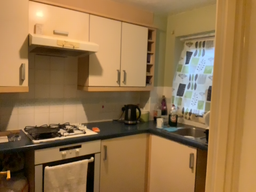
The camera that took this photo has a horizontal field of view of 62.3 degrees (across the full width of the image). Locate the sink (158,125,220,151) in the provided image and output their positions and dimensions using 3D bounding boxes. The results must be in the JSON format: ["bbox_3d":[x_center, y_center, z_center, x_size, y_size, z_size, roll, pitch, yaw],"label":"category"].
[{"bbox_3d":[0.670,0.440,2.330,0.550,0.120,0.410,-1,5,-37],"label":"sink"}]

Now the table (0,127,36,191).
[{"bbox_3d":[-1.010,0.800,1.860,0.220,0.930,0.590,0,5,-37],"label":"table"}]

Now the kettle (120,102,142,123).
[{"bbox_3d":[0.040,0.200,2.610,0.210,0.230,0.160,-1,5,-37],"label":"kettle"}]
